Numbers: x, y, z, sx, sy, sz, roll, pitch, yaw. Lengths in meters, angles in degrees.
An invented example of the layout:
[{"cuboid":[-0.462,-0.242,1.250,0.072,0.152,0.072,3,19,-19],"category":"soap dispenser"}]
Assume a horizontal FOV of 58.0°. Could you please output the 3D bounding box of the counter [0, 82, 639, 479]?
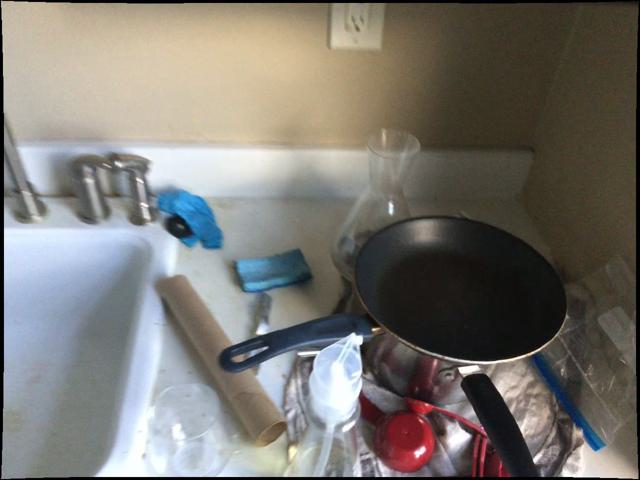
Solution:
[{"cuboid":[-0.279,0.090,0.780,1.397,0.280,0.711,-2,43,-5],"category":"counter"}]
